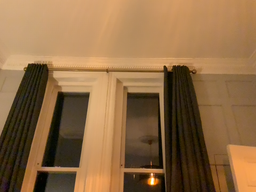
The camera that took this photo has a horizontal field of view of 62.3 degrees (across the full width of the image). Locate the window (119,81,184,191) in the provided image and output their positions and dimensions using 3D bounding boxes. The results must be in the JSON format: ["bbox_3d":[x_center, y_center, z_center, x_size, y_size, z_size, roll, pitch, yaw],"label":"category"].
[{"bbox_3d":[0.240,0.840,2.290,0.650,2.260,0.190,1,-30,1],"label":"window"}]

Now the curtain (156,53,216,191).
[{"bbox_3d":[0.540,0.840,1.890,0.440,3.080,0.100,-2,-30,6],"label":"curtain"}]

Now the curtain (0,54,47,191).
[{"bbox_3d":[-1.270,0.820,1.990,0.330,3.040,0.140,-1,-30,4],"label":"curtain"}]
